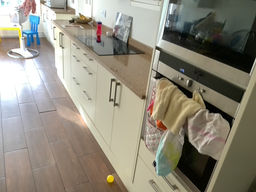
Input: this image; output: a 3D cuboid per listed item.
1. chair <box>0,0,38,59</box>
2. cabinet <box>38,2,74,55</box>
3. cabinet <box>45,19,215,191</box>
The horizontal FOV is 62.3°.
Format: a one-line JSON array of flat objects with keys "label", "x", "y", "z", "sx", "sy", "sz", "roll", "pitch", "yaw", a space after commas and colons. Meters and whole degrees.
[{"label": "chair", "x": -2.170, "y": -1.410, "z": 4.210, "sx": 0.590, "sy": 1.190, "sz": 0.600, "roll": -6, "pitch": 30, "yaw": -26}, {"label": "cabinet", "x": -1.800, "y": -1.690, "z": 5.180, "sx": 0.450, "sy": 0.910, "sz": 1.650, "roll": -8, "pitch": 31, "yaw": -29}, {"label": "cabinet", "x": -0.400, "y": -0.250, "z": 2.720, "sx": 0.730, "sy": 0.910, "sz": 2.880, "roll": -8, "pitch": 30, "yaw": -29}]
